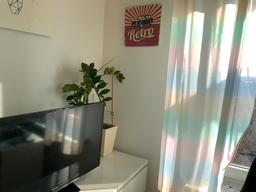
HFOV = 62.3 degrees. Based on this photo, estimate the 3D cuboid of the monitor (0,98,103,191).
[{"bbox_3d":[-0.380,0.290,1.100,0.050,0.460,0.730,7,11,31],"label":"monitor"}]
